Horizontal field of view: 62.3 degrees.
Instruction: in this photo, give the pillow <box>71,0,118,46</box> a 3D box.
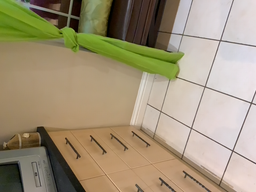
[{"bbox_3d":[-0.220,-0.610,1.400,0.400,0.090,0.480,31,112,47],"label":"pillow"}]
